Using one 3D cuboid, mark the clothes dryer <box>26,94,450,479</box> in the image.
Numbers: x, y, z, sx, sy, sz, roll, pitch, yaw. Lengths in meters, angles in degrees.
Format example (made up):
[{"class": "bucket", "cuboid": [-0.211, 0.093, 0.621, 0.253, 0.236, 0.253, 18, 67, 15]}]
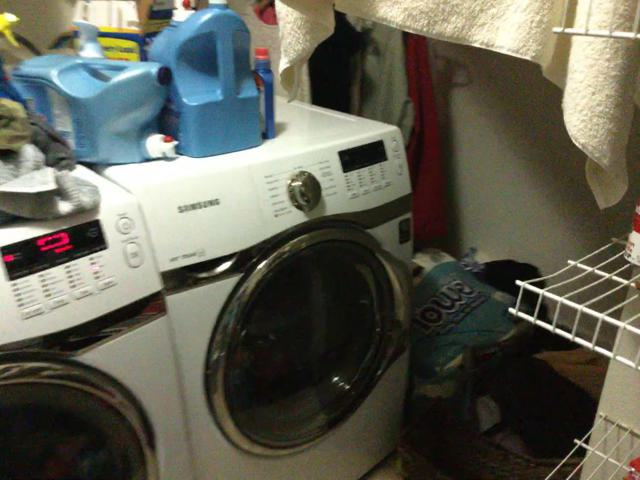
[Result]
[{"class": "clothes dryer", "cuboid": [-0.200, 0.180, 1.570, 0.750, 0.970, 0.670, -19, 31, -39]}]
